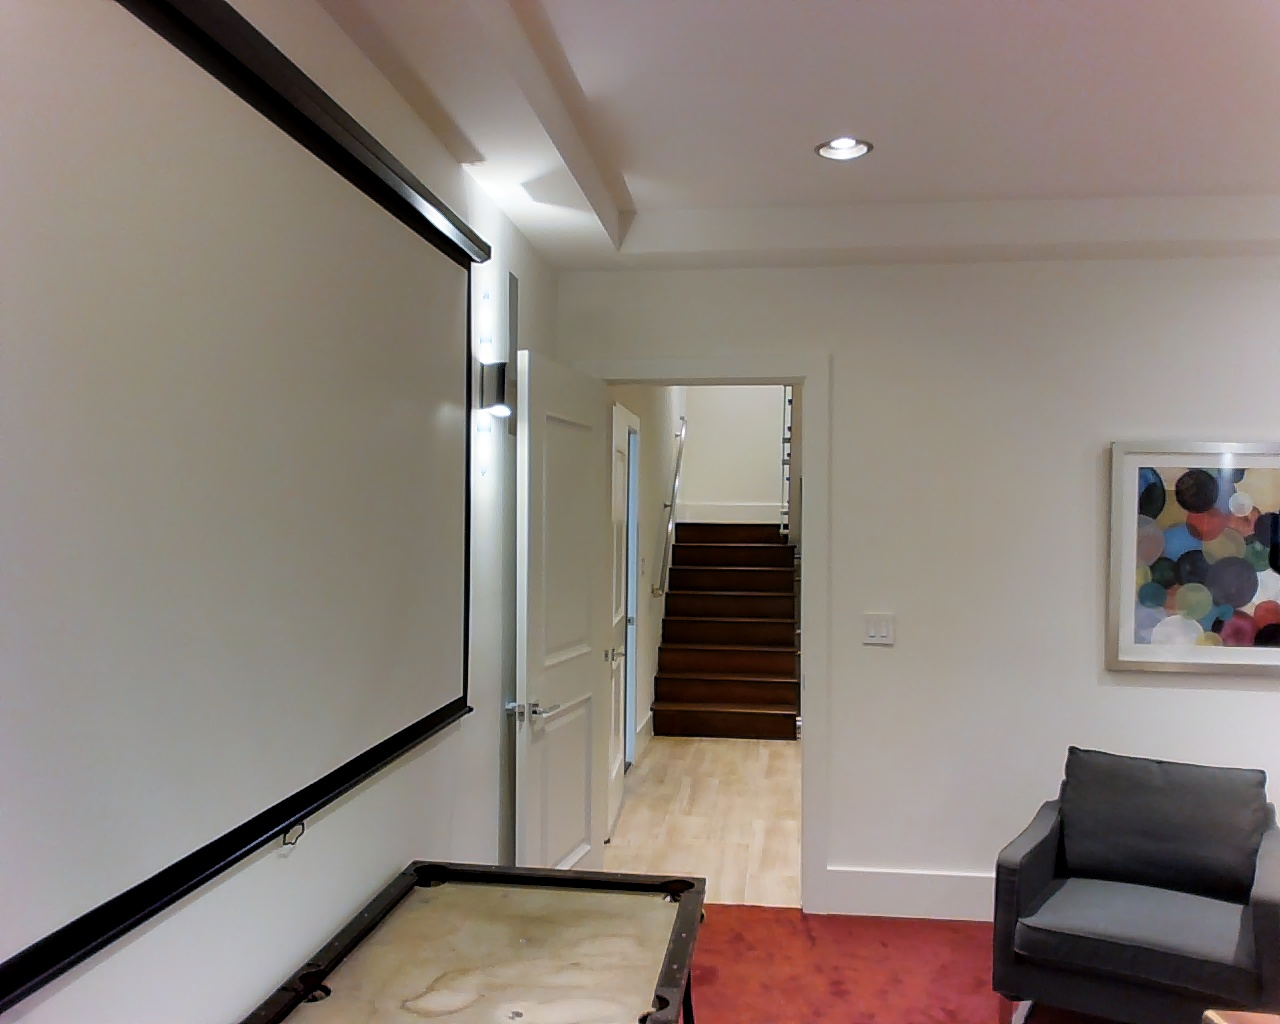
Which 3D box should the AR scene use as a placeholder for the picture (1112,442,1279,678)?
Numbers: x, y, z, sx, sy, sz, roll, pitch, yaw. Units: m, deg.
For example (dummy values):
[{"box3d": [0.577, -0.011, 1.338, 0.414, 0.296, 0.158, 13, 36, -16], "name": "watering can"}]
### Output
[{"box3d": [2.270, 0.180, 4.120, 0.850, 0.890, 0.070, 0, -2, 8], "name": "picture"}]
